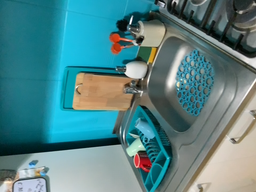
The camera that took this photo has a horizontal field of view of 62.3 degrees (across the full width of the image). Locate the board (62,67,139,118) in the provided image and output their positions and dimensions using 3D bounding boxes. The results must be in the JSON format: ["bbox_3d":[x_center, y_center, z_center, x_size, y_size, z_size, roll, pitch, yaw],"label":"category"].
[{"bbox_3d":[-0.150,-0.010,1.140,0.060,0.360,0.270,60,140,45],"label":"board"}]

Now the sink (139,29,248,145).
[{"bbox_3d":[0.240,-0.050,0.940,0.380,0.150,0.340,59,139,46],"label":"sink"}]

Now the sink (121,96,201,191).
[{"bbox_3d":[0.140,0.260,1.140,0.380,0.150,0.360,59,139,46],"label":"sink"}]
